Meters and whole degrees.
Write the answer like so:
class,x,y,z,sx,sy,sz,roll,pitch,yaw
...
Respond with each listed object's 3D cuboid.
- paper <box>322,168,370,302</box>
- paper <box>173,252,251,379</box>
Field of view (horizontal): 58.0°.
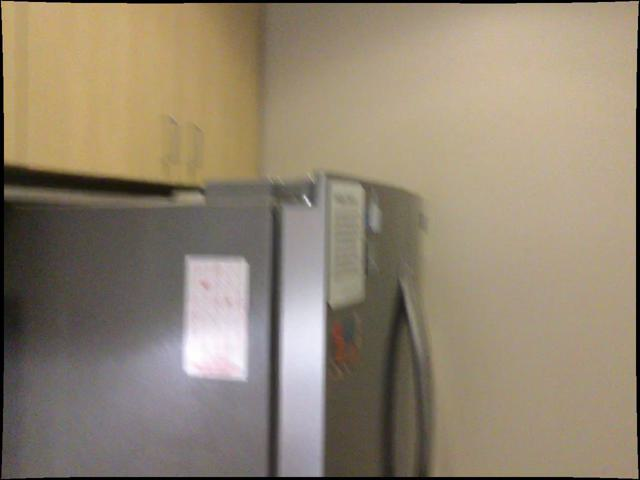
class,x,y,z,sx,sy,sz,roll,pitch,yaw
paper,0.040,-0.010,0.840,0.020,0.180,0.130,-2,3,22
paper,-0.160,0.110,0.850,0.110,0.180,0.020,-2,3,22
